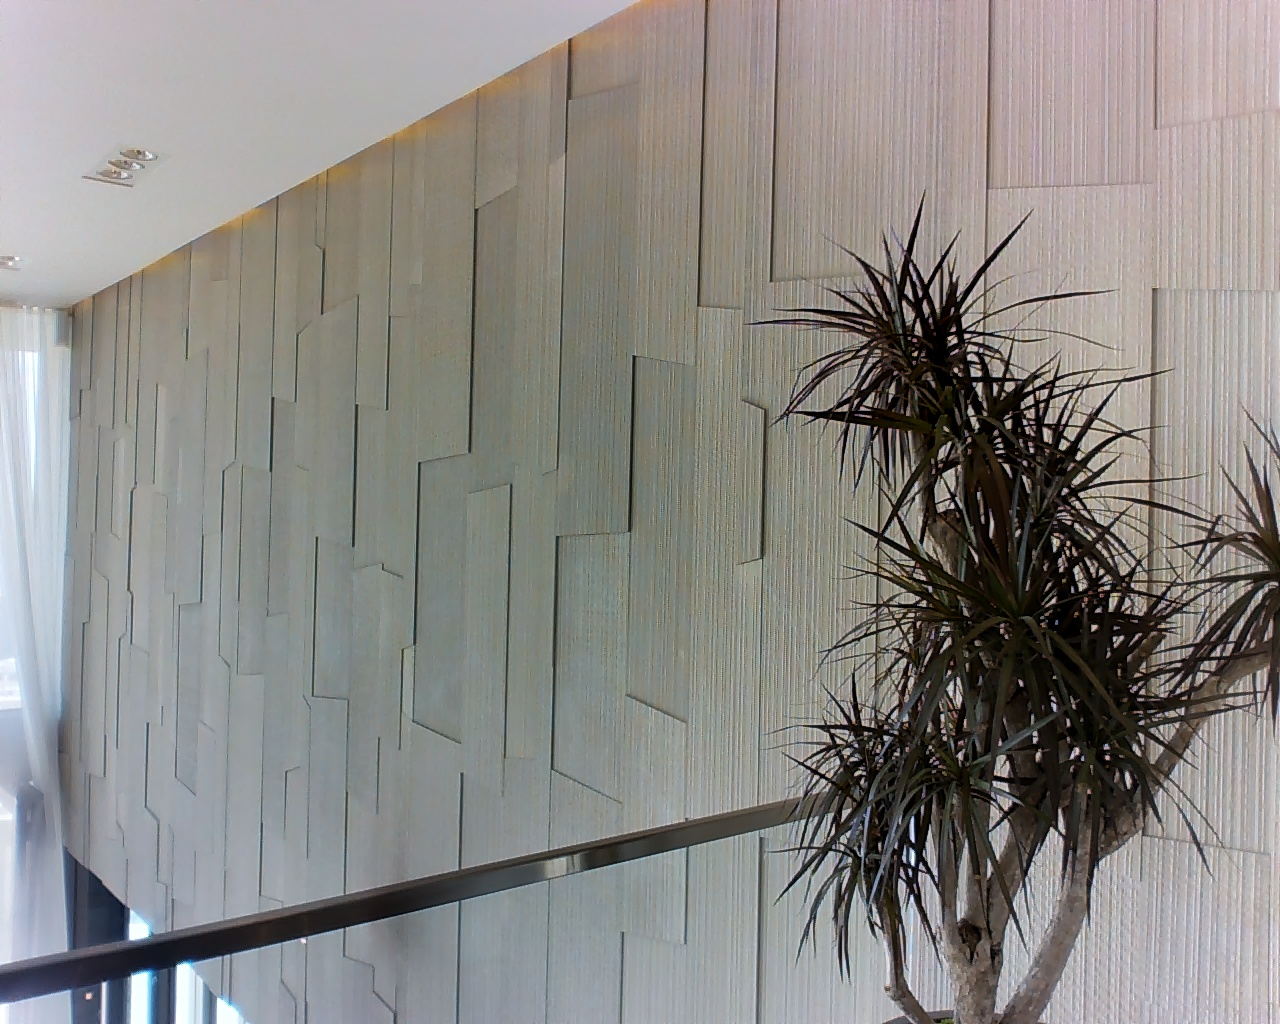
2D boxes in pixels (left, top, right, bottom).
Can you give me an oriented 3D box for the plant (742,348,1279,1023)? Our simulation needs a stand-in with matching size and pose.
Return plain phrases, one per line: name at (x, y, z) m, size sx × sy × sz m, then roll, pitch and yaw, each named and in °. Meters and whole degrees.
plant at (0.540, 0.680, 1.530) m, size 0.590 × 1.700 × 0.520 m, roll 2°, pitch -1°, yaw -41°
